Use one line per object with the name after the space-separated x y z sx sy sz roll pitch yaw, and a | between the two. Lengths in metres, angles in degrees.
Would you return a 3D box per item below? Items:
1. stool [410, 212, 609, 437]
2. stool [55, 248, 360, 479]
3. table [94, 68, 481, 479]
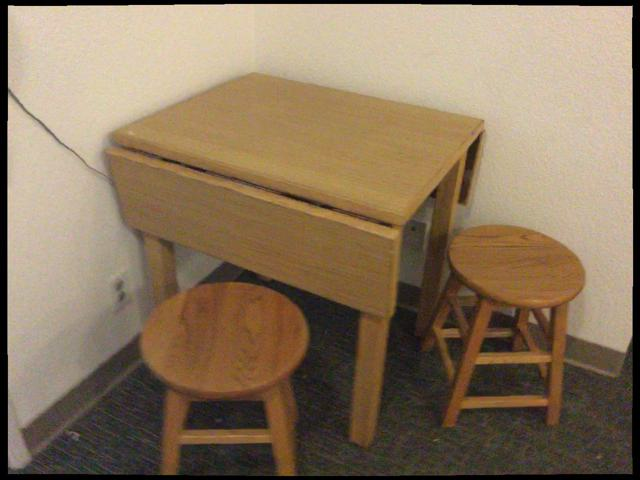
0.509 0.240 1.720 0.399 0.481 0.430 3 33 2 | stool
-0.230 0.401 1.410 0.469 0.481 0.490 16 36 22 | stool
-0.040 0.020 1.750 0.709 0.771 0.820 18 36 23 | table
